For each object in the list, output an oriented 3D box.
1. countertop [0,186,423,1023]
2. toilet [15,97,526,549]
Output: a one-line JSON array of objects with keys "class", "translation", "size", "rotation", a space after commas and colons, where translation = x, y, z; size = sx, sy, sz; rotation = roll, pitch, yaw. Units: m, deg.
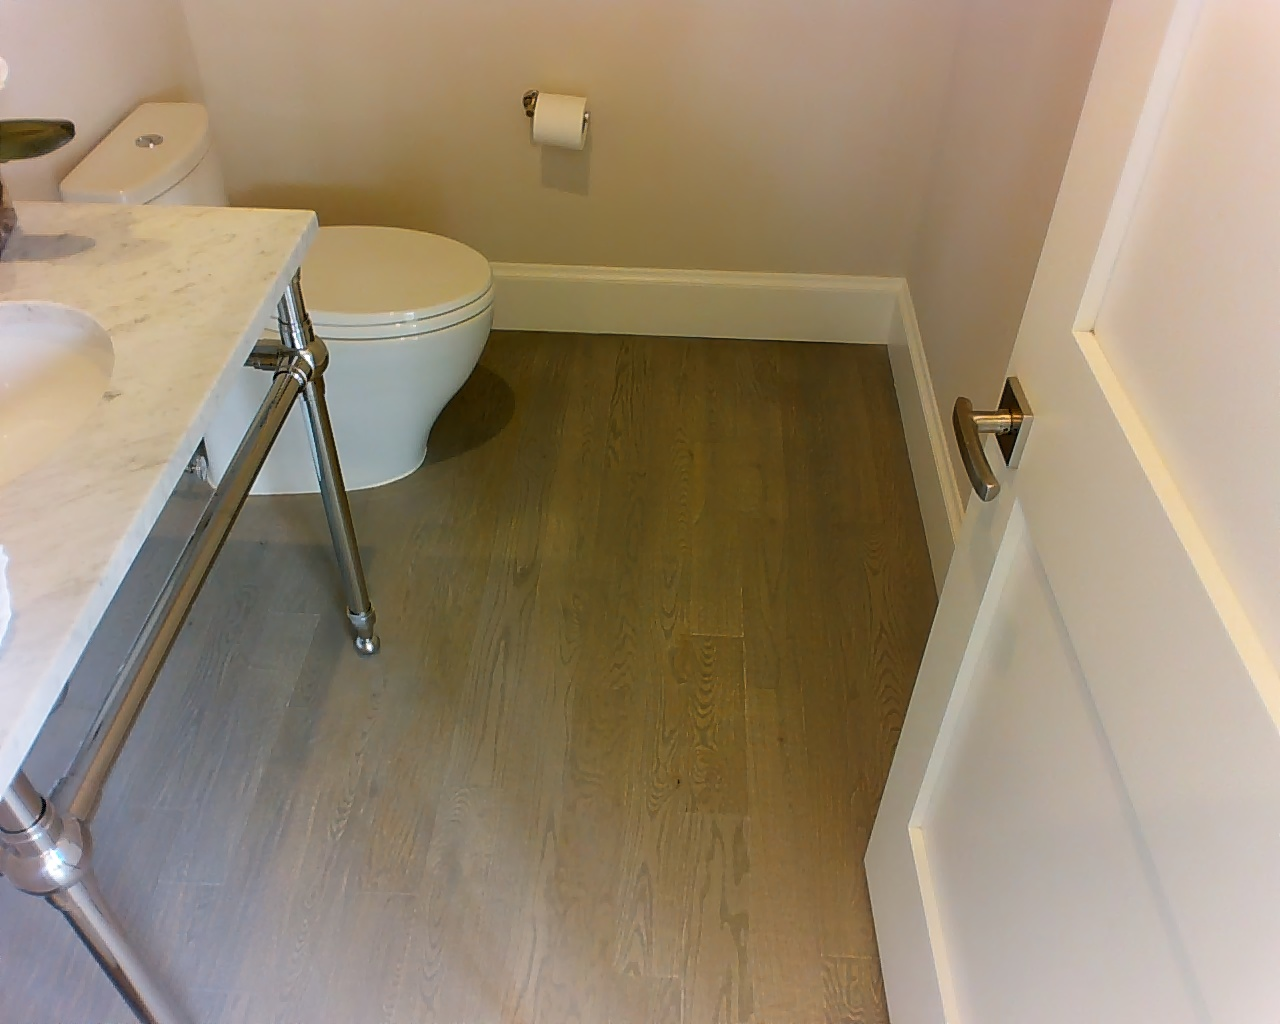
[{"class": "countertop", "translation": [-0.760, 0.210, 1.470], "size": [0.630, 0.910, 0.990], "rotation": [2, 42, 1]}, {"class": "toilet", "translation": [-0.660, -0.380, 2.220], "size": [0.750, 0.730, 0.520], "rotation": [2, 42, 1]}]
